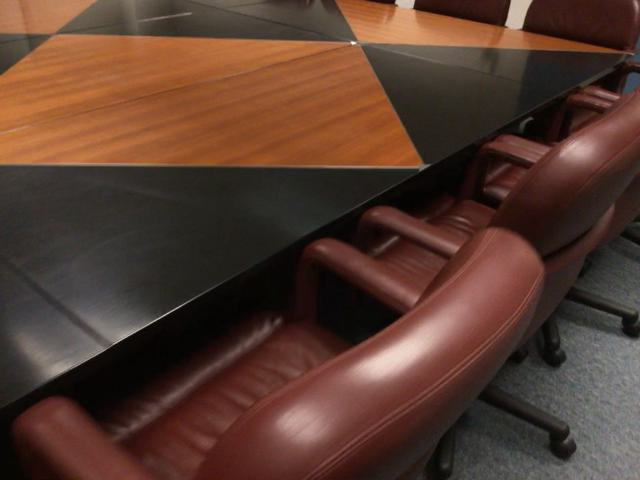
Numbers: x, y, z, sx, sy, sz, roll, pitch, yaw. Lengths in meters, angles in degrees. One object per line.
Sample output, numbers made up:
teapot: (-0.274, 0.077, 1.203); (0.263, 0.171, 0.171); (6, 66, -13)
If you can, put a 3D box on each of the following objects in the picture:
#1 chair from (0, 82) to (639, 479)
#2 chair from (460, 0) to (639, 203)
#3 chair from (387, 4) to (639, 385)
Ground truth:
chair: (-0.090, 0.330, 1.020); (0.700, 0.940, 0.760); (30, 38, 35)
chair: (1.290, -0.840, 3.010); (0.680, 0.970, 0.660); (27, 36, 31)
chair: (0.780, -0.210, 1.960); (0.700, 0.960, 0.670); (30, 38, 35)
